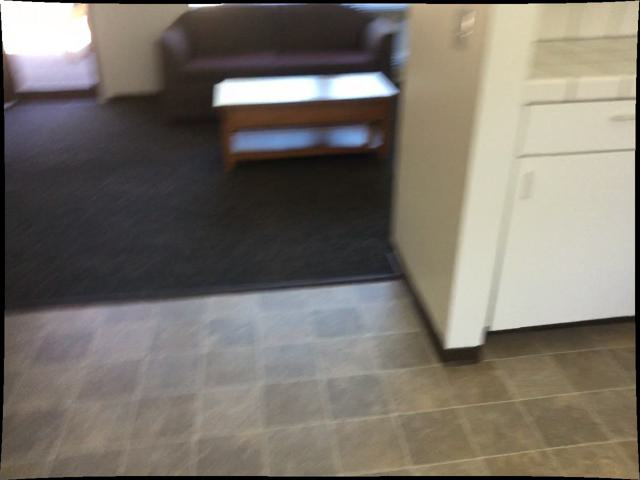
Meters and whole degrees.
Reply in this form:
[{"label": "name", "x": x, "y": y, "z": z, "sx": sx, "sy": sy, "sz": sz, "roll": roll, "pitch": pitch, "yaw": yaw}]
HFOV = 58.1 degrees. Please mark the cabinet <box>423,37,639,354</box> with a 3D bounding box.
[{"label": "cabinet", "x": 1.158, "y": -0.210, "z": 2.160, "sx": 1.328, "sy": 0.951, "sz": 0.630, "roll": -4, "pitch": 28, "yaw": -7}]
